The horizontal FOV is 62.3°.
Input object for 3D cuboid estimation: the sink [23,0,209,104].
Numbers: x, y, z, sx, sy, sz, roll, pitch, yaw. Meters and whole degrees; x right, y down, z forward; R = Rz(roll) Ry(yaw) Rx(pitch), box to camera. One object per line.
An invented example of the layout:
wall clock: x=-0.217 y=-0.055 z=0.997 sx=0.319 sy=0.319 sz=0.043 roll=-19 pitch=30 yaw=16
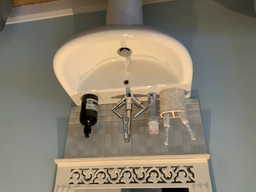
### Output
sink: x=-0.020 y=-0.150 z=0.850 sx=0.570 sy=0.160 sz=0.410 roll=-4 pitch=151 yaw=9
